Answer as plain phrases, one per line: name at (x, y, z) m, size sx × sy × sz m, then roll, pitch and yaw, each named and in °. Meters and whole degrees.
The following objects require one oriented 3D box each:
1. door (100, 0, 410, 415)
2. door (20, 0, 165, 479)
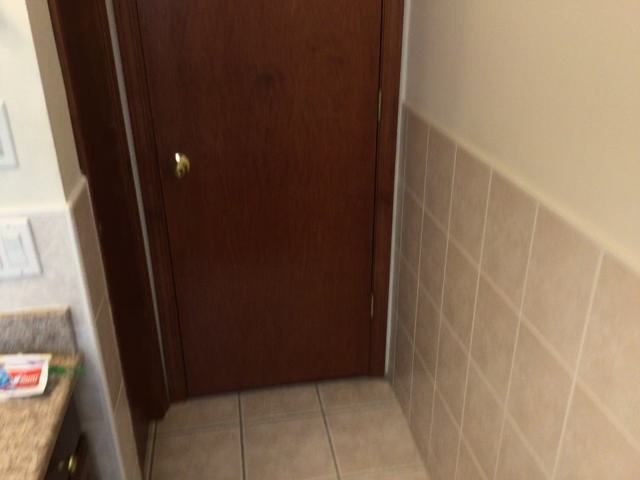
door at (-0.160, -0.370, 1.760) m, size 0.850 × 2.110 × 0.070 m, roll -5°, pitch 26°, yaw -10°
door at (-0.570, -0.170, 1.470) m, size 0.070 × 2.020 × 0.430 m, roll -5°, pitch 26°, yaw -10°
